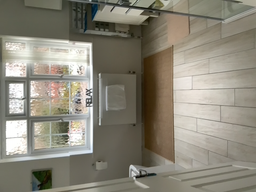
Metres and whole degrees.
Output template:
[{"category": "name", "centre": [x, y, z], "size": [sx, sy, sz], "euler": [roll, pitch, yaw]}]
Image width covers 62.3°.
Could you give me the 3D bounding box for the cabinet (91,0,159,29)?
[{"category": "cabinet", "centre": [-0.050, -1.270, 3.010], "size": [0.390, 0.890, 0.440], "euler": [-178, 88, -69]}]
